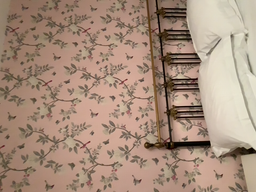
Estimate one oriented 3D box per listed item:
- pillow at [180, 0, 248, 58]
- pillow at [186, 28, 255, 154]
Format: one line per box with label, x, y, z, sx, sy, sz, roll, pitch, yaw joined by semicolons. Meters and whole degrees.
pillow;0.660;-0.730;1.760;0.470;0.240;0.670;107;161;-71
pillow;0.690;-0.010;1.530;0.500;0.260;0.770;105;162;-69
